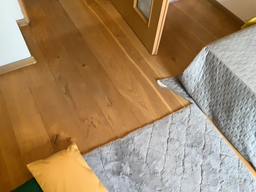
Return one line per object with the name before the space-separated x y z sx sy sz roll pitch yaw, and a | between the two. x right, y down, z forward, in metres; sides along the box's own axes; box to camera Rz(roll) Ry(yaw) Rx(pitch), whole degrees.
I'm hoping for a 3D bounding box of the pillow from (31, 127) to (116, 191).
pillow | -0.250 0.450 1.080 0.260 0.180 0.490 -28 63 -21
